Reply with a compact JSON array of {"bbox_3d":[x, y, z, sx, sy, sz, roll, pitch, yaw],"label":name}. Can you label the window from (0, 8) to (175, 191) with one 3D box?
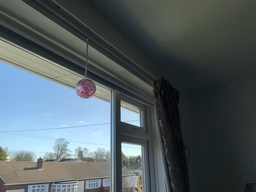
[{"bbox_3d":[-0.210,0.480,1.340,0.220,1.410,1.900,-13,-21,33],"label":"window"}]
